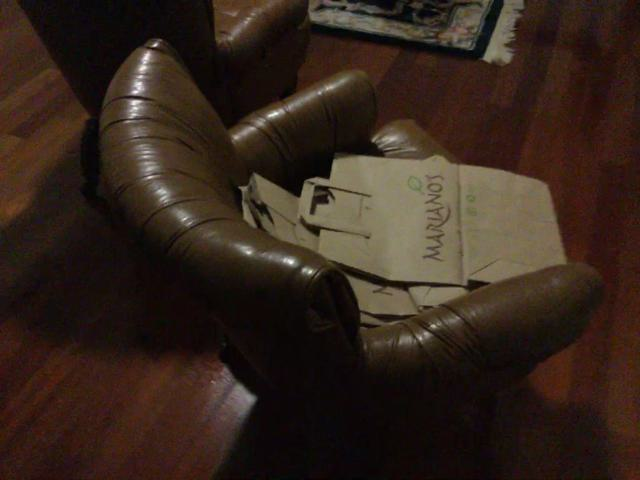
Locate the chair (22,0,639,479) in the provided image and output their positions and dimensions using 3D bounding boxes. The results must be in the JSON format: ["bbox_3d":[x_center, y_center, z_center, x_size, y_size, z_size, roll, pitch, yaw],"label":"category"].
[{"bbox_3d":[0.080,0.050,1.050,0.830,0.770,0.750,-18,51,-17],"label":"chair"}]

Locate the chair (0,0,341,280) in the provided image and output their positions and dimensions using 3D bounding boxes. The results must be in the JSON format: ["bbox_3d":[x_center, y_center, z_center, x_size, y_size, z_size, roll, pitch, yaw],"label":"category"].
[{"bbox_3d":[-0.380,-0.490,1.530,0.670,0.790,0.690,17,49,14],"label":"chair"}]
